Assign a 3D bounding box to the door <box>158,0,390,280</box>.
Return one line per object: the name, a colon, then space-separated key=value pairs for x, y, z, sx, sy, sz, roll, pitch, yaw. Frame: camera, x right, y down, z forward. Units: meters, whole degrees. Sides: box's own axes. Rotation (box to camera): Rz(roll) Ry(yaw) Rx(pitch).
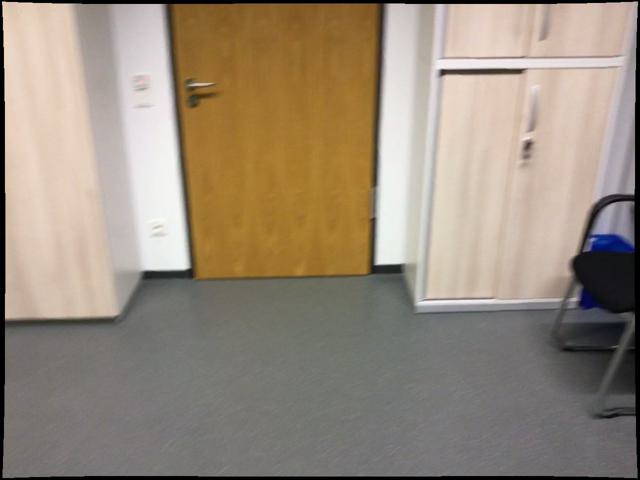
door: x=-0.200 y=-0.851 z=2.770 sx=1.029 sy=2.212 sz=0.180 roll=-2 pitch=23 yaw=-1
